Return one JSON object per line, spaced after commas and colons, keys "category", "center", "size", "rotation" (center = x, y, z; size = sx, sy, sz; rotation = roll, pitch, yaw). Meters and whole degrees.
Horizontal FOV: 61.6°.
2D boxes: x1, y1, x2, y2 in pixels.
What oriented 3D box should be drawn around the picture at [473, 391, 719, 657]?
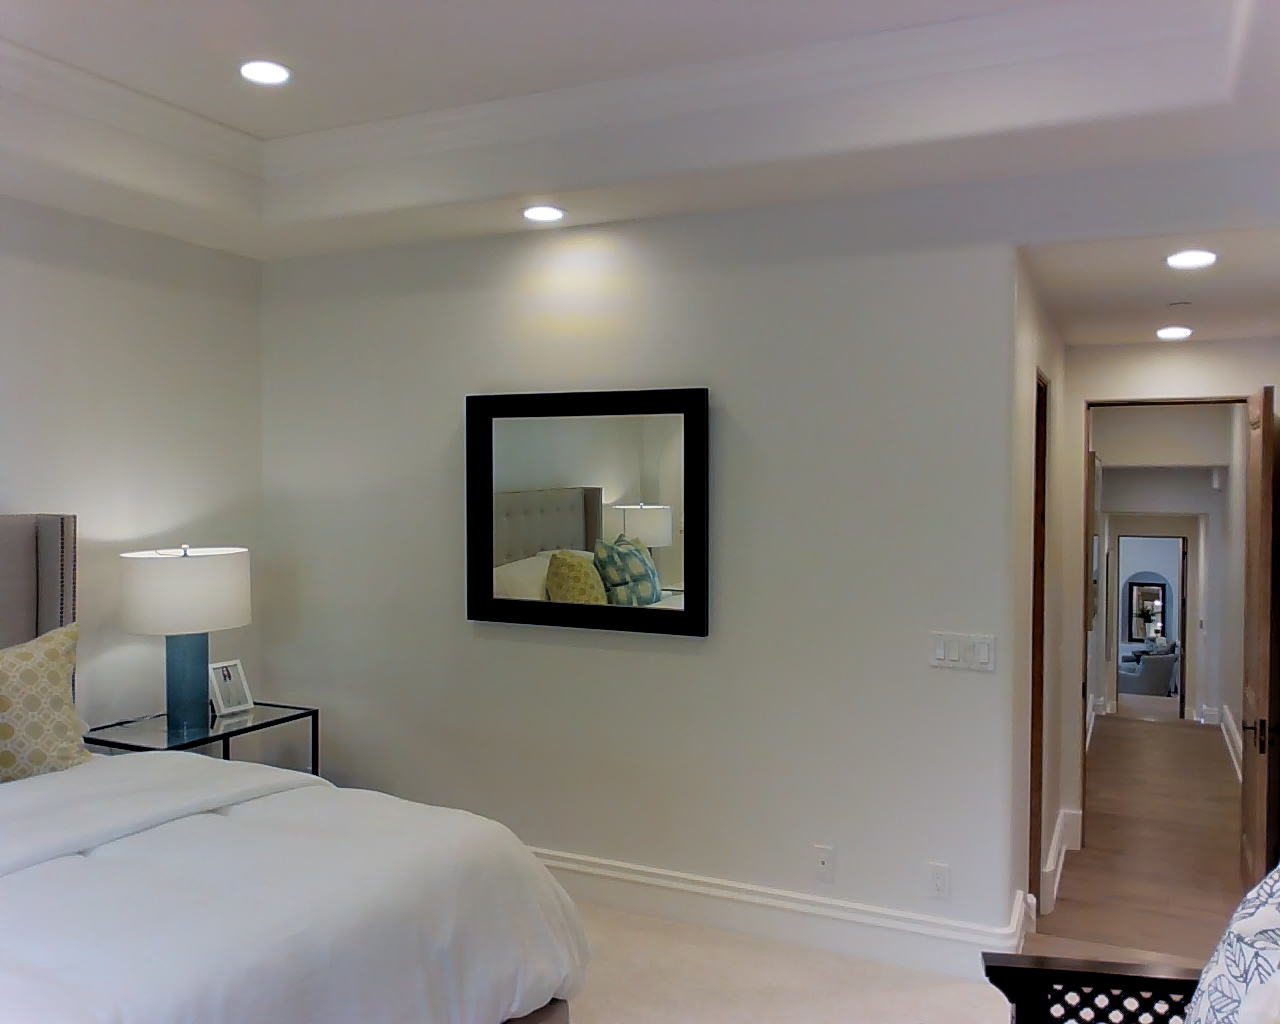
{"category": "picture", "center": [-0.190, 0.040, 4.130], "size": [1.010, 0.960, 0.100], "rotation": [1, 1, 25]}
